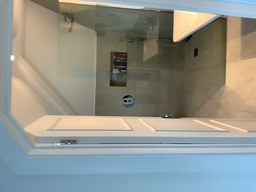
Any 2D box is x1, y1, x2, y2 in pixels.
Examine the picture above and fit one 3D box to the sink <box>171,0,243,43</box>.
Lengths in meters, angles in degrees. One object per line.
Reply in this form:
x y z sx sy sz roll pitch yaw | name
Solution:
0.620 -0.810 1.840 0.890 0.160 0.470 177 95 -80 | sink
